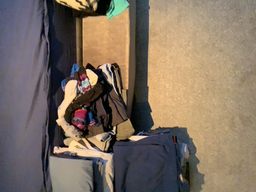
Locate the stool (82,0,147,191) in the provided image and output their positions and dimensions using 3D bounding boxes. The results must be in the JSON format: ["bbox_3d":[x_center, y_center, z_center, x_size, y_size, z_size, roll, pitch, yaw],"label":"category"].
[{"bbox_3d":[-0.070,-0.410,1.200,0.280,0.250,1.910,1,93,25],"label":"stool"}]
